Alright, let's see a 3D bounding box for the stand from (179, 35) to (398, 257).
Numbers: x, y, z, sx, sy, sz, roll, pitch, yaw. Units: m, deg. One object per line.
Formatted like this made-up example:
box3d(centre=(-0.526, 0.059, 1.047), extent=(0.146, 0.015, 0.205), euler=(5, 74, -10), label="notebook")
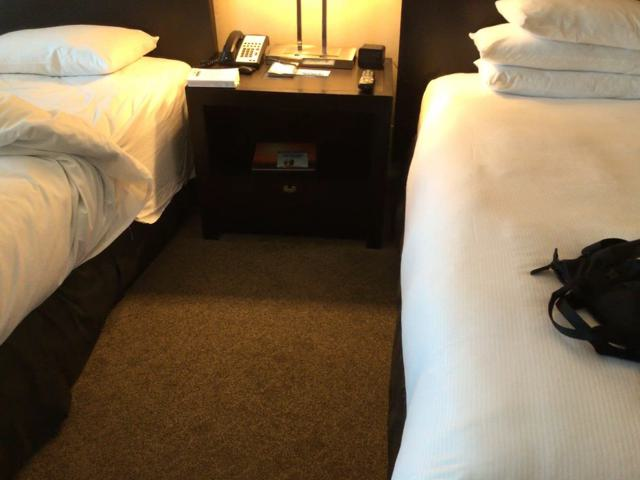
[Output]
box3d(centre=(-0.090, -0.410, 2.410), extent=(0.760, 0.720, 0.550), euler=(4, 31, 6), label="stand")
